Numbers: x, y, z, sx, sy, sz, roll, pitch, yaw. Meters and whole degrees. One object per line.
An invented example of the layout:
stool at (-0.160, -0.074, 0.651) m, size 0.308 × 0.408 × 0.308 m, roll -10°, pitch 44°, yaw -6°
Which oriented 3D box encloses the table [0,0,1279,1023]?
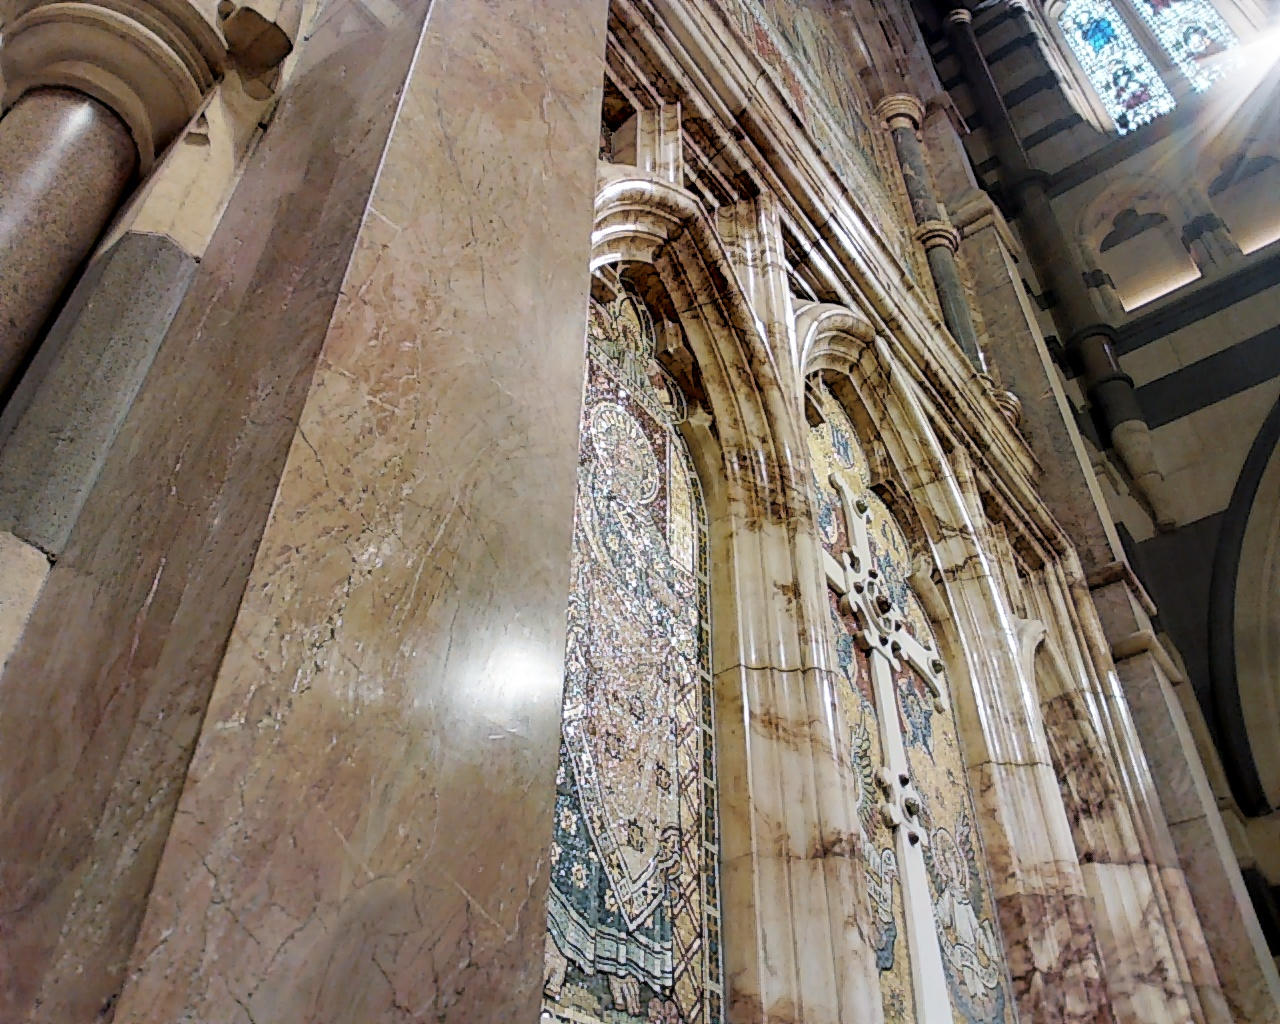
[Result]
table at (0.919, 0.931, 2.530) m, size 0.710 × 4.862 × 4.590 m, roll -28°, pitch -50°, yaw 26°
